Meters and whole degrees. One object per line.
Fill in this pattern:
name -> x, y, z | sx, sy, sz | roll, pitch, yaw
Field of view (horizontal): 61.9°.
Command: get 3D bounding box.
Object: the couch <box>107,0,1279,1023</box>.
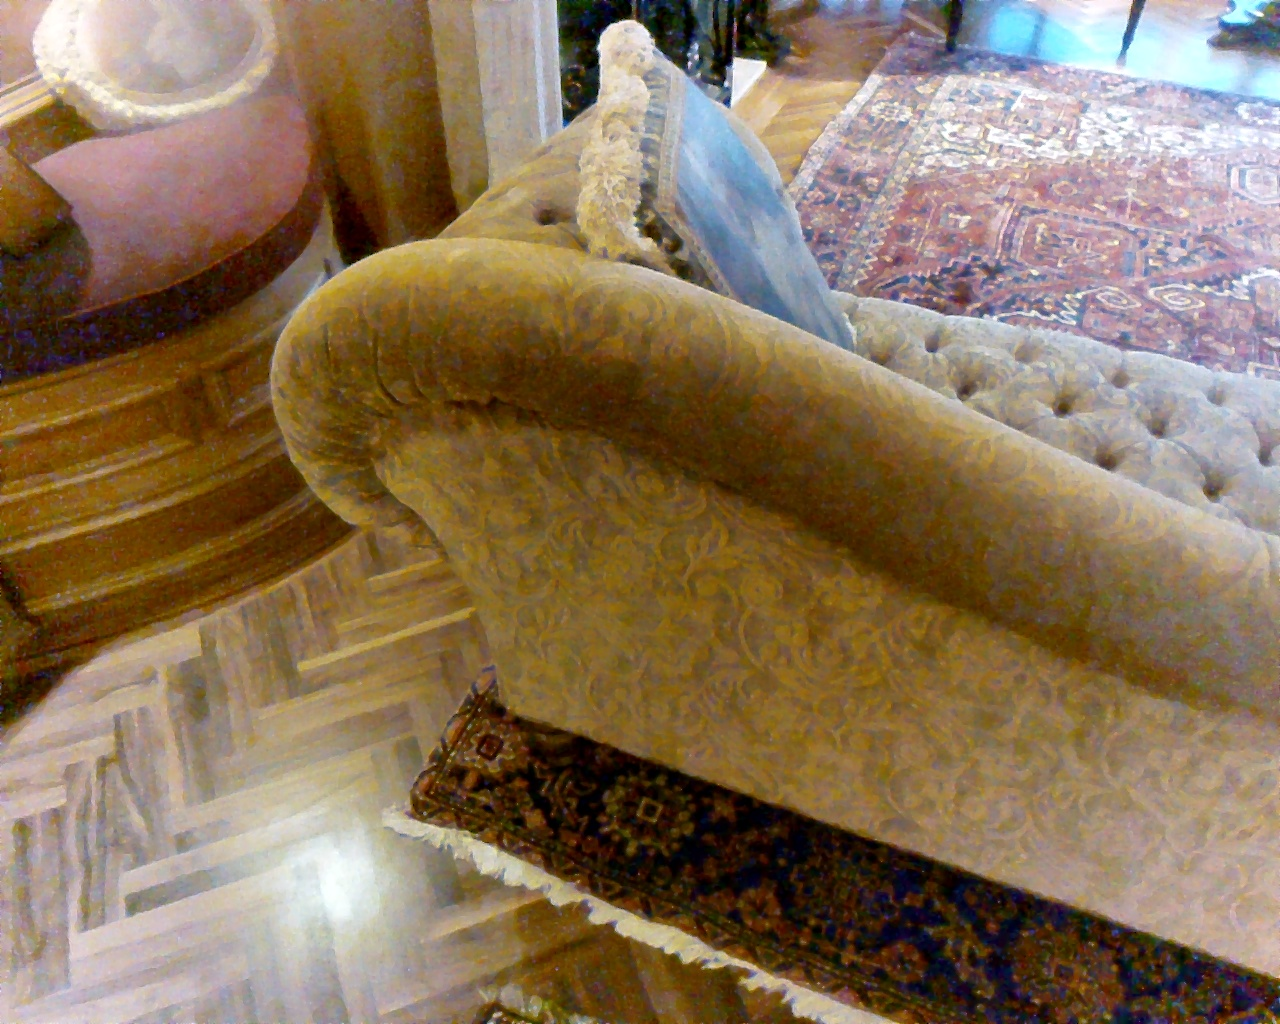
couch -> 0.760, 0.020, 1.390 | 2.300, 0.970, 1.090 | 16, 46, 17

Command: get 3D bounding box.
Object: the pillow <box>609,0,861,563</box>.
pillow -> 0.150, -0.320, 1.430 | 0.210, 0.710, 0.600 | -6, 72, 11

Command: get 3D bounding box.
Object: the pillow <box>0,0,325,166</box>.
pillow -> -0.910, -0.930, 2.090 | 0.300, 0.270, 0.480 | 16, 45, 17
